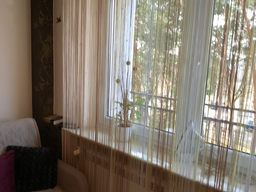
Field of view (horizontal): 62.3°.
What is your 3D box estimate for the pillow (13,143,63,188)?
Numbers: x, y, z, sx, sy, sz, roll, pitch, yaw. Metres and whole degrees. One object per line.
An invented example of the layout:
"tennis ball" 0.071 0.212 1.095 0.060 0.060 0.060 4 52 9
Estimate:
"pillow" -0.750 0.570 1.790 0.150 0.300 0.300 12 -1 40
